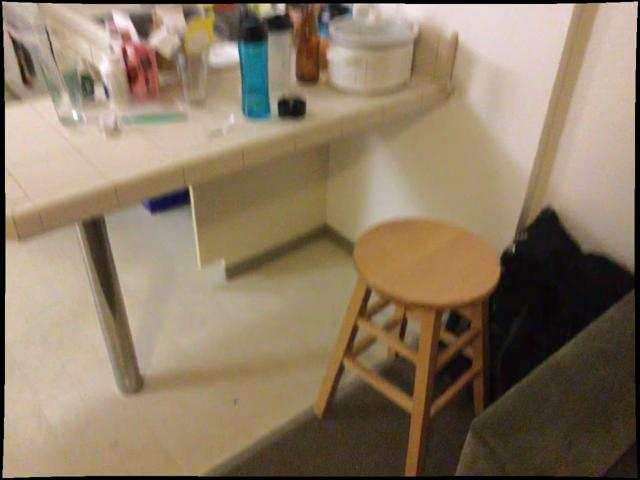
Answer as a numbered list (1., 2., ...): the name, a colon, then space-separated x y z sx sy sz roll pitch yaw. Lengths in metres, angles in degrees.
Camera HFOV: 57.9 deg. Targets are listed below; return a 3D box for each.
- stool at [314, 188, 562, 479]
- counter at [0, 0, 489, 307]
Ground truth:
1. stool: 0.290 0.260 1.600 0.450 0.580 0.400 -26 44 -32
2. counter: -0.629 -0.641 1.820 1.379 0.290 1.740 -26 44 -32
